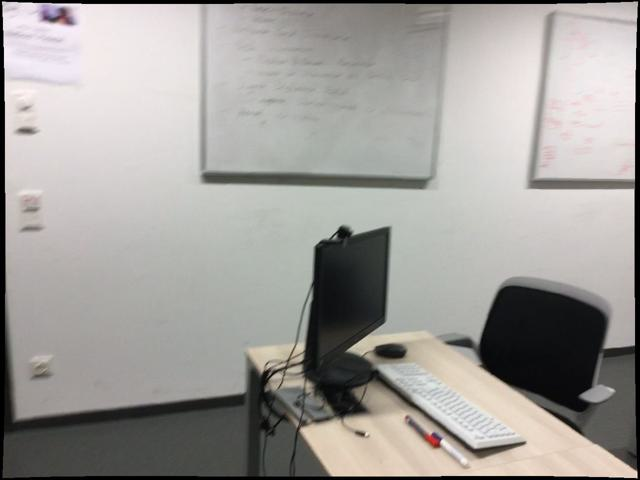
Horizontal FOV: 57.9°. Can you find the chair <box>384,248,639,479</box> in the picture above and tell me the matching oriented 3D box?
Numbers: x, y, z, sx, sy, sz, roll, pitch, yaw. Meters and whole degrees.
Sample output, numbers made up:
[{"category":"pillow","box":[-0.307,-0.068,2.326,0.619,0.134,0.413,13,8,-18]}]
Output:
[{"category":"chair","box":[0.729,0.611,2.040,0.670,0.931,0.720,16,21,42]}]

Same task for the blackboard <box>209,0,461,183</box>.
[{"category":"blackboard","box":[0.090,-0.791,2.680,1.169,1.011,0.100,-4,16,-18]}]
